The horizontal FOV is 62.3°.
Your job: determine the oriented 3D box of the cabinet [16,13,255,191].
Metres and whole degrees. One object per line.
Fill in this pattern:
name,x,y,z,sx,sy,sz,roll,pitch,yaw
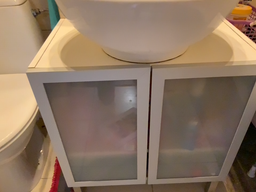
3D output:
cabinet,0.050,0.080,0.850,0.620,0.670,0.390,-3,37,-2
